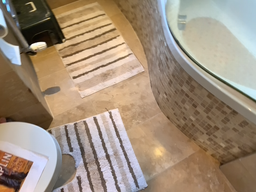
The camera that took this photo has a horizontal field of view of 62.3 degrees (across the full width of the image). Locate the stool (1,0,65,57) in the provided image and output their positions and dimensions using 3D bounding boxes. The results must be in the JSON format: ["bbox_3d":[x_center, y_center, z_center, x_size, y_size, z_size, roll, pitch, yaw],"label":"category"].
[{"bbox_3d":[-0.680,-0.540,1.540,0.280,0.270,0.350,-24,67,-13],"label":"stool"}]
